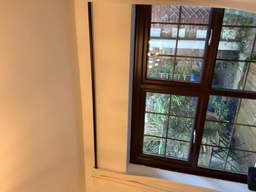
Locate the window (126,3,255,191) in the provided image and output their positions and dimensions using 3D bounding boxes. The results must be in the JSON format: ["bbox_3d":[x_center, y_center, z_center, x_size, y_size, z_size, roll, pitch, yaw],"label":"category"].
[{"bbox_3d":[0.750,0.080,2.260,0.250,1.490,1.920,-58,-28,-65],"label":"window"}]
